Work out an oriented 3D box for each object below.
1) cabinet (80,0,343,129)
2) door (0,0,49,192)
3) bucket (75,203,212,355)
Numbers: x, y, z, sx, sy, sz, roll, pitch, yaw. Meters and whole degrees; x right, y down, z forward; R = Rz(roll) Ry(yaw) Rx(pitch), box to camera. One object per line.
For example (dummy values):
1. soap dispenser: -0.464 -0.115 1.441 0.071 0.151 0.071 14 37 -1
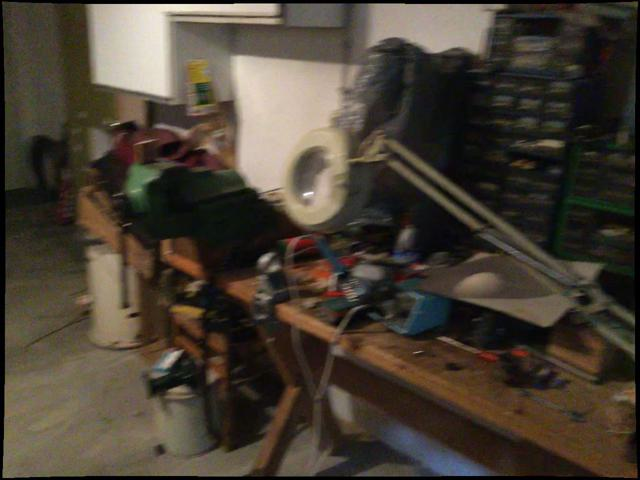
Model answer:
1. cabinet: -0.480 -0.861 2.230 1.209 0.661 0.340 20 27 40
2. door: -2.937 -1.341 4.780 0.200 1.942 1.020 20 27 40
3. bucket: -0.869 0.170 2.900 0.390 0.550 0.490 20 27 40
